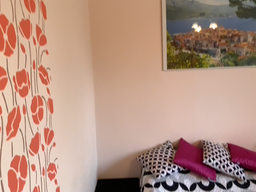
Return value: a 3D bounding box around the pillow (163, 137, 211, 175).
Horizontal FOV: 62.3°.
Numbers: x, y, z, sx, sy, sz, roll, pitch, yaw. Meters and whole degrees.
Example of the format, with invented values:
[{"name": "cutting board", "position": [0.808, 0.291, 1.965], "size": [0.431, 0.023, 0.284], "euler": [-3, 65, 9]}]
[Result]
[{"name": "pillow", "position": [0.530, 0.540, 1.970], "size": [0.330, 0.220, 0.330], "euler": [-2, 6, -5]}]
